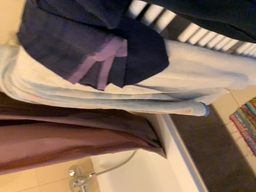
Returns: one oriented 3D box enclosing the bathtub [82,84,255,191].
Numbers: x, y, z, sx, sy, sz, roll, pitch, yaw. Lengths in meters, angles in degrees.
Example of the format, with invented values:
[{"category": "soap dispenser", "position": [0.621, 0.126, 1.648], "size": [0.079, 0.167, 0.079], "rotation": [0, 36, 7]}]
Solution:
[{"category": "bathtub", "position": [0.340, 0.710, 1.140], "size": [0.690, 0.550, 1.380], "rotation": [-44, 59, 38]}]
